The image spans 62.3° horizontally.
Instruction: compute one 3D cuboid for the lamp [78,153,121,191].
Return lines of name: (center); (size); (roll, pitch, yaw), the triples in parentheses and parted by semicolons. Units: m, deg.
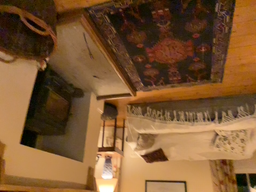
lamp: (-0.460, 1.330, 3.610); (0.580, 0.610, 0.370); (-6, 154, 15)
